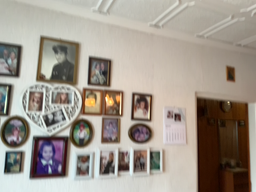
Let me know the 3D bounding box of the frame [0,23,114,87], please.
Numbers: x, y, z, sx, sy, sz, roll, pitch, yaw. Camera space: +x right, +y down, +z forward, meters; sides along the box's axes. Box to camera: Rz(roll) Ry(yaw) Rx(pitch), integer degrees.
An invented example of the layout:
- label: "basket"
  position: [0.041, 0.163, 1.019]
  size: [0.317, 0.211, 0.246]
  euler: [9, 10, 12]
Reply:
- label: "frame"
  position: [-0.510, -0.280, 1.560]
  size: [0.820, 0.340, 0.060]
  euler: [5, -8, -22]

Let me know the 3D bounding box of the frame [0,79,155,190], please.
- label: "frame"
  position: [-0.460, 0.270, 1.520]
  size: [1.440, 0.670, 0.140]
  euler: [5, -9, -24]
